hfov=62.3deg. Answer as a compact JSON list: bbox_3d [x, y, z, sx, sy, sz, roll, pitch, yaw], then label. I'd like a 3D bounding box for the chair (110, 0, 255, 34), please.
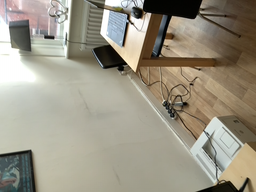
[{"bbox_3d":[0.390,-0.690,1.330,0.450,0.850,0.400,51,136,48],"label":"chair"}]

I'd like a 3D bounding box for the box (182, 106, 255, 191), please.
[{"bbox_3d":[0.690,0.390,1.560,0.410,0.230,0.470,48,134,48],"label":"box"}]
